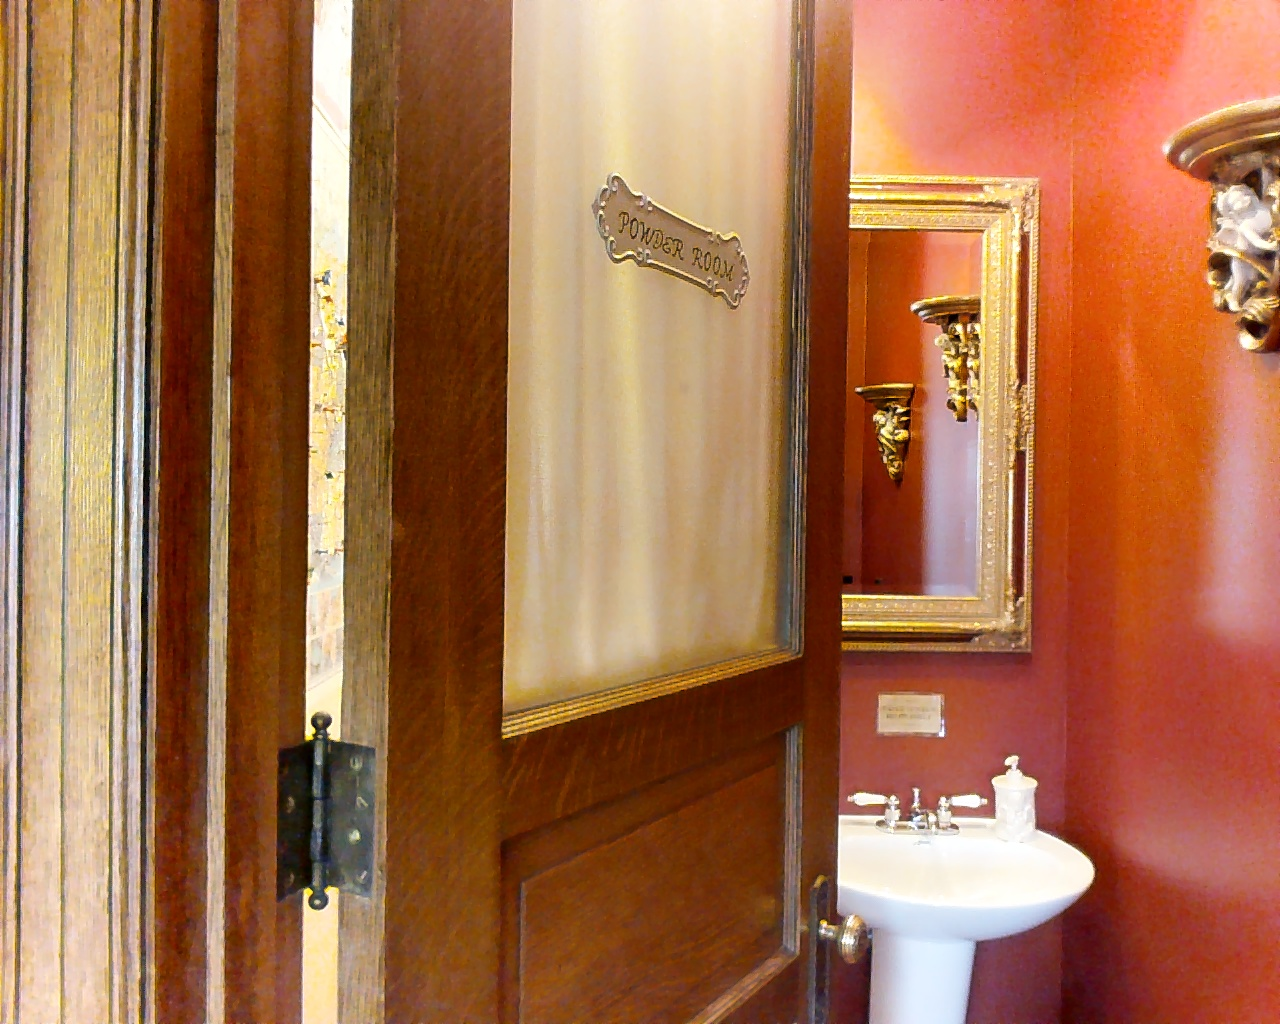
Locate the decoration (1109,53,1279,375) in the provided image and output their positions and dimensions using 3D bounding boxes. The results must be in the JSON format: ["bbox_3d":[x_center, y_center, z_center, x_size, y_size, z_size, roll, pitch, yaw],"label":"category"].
[{"bbox_3d":[0.810,-0.400,1.530,0.140,0.370,0.300,1,0,-2],"label":"decoration"}]
